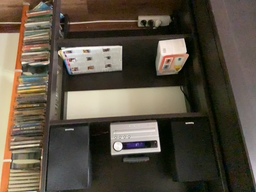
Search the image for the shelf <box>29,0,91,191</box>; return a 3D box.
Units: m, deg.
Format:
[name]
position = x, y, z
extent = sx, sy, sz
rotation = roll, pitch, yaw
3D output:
[shelf]
position = -0.290, 0.080, 1.000
extent = 0.190, 1.150, 0.220
rotation = -3, 160, -1
